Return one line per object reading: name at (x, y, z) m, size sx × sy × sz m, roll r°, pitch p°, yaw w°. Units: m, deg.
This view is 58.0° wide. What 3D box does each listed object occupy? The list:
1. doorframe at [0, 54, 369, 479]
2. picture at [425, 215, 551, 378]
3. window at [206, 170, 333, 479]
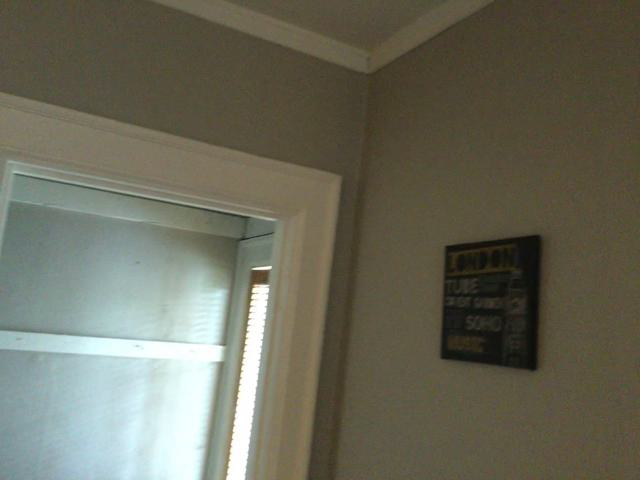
doorframe at (-0.470, 0.760, 1.370) m, size 1.020 × 2.170 × 0.240 m, roll 13°, pitch -14°, yaw -28°
picture at (0.340, 0.120, 1.200) m, size 0.040 × 0.300 × 0.290 m, roll 13°, pitch -14°, yaw -28°
window at (-0.210, 0.450, 2.090) m, size 0.130 × 1.290 × 0.610 m, roll 12°, pitch -13°, yaw -22°
